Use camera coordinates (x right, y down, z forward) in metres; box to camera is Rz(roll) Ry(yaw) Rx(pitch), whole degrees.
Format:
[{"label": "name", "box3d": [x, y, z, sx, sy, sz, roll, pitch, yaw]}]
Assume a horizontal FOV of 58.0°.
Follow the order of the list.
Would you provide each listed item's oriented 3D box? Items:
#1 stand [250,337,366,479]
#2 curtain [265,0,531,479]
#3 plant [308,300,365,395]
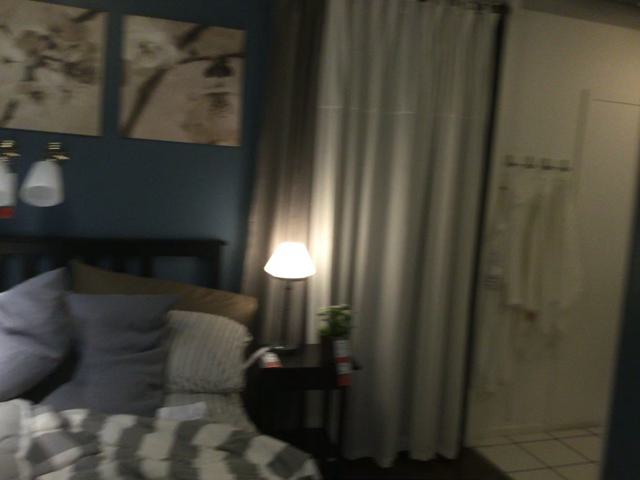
[{"label": "stand", "box3d": [-0.080, 0.800, 2.740, 0.470, 0.560, 0.490, 0, 4, -11]}, {"label": "curtain", "box3d": [0.370, -0.020, 2.940, 1.260, 2.460, 0.320, 0, 4, -11]}, {"label": "plant", "box3d": [0.070, 0.480, 2.640, 0.200, 0.360, 0.280, 0, 4, -11]}]
